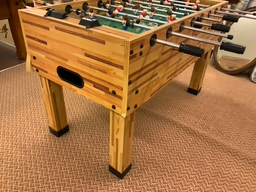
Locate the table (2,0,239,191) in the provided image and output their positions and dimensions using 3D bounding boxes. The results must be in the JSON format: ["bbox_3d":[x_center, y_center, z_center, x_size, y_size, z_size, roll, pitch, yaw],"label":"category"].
[{"bbox_3d":[0.080,-0.270,1.690,0.900,0.930,1.460,25,38,29],"label":"table"}]
